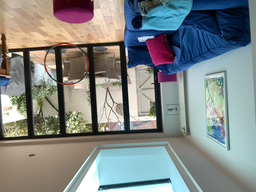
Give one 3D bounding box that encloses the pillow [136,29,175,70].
[{"bbox_3d":[0.380,-0.650,3.110,0.320,0.390,0.580,-24,-177,-5],"label":"pillow"}]
